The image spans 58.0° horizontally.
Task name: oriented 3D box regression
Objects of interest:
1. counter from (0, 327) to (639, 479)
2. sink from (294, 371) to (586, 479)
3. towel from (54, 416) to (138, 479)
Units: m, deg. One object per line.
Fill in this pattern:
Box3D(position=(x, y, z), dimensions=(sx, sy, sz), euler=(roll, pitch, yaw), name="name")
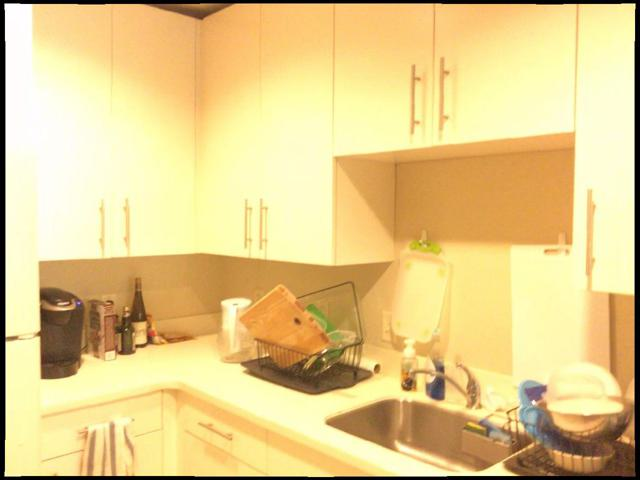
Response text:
Box3D(position=(-0.030, 0.601, 1.750), dimensions=(1.369, 0.060, 2.707), euler=(-3, 5, -44), name="counter")
Box3D(position=(0.359, 0.661, 1.790), dimensions=(0.569, 0.261, 0.679), euler=(-3, 5, -44), name="sink")
Box3D(position=(-0.778, 0.862, 2.020), dimensions=(0.260, 0.411, 0.080), euler=(-3, 5, -44), name="towel")
